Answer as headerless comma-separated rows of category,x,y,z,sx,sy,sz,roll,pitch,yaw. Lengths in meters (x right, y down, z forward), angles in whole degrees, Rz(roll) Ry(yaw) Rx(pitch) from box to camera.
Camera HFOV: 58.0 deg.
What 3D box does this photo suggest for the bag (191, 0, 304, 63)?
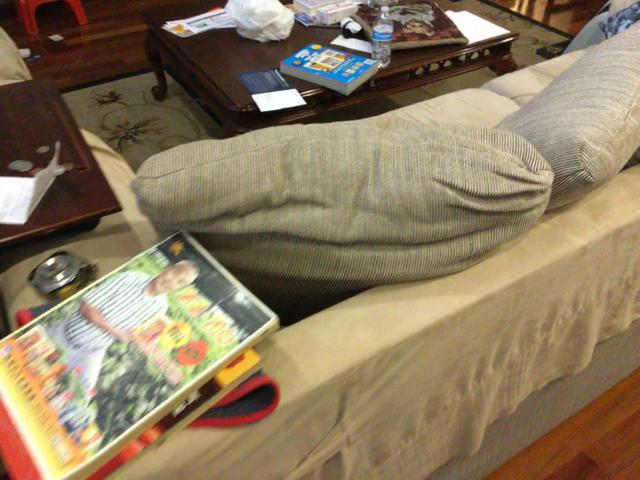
bag,-0.260,-0.800,2.090,0.320,0.150,0.250,-23,48,-22
